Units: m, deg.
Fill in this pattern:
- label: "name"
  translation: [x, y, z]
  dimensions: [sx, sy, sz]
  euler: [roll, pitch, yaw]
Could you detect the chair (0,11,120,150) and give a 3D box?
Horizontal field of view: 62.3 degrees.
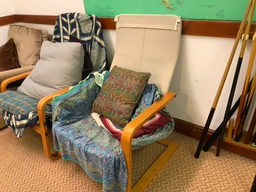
- label: "chair"
  translation: [-0.560, -0.190, 1.850]
  dimensions: [0.630, 0.930, 0.650]
  euler: [17, 36, 34]
